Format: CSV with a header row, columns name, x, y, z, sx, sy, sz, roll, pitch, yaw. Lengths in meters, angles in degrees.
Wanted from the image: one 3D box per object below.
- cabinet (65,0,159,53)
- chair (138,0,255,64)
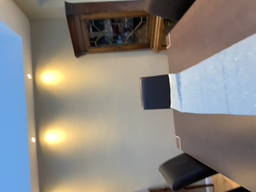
name,x,y,z,sx,sy,sz,roll,pitch,yaw
cabinet,-0.200,-0.880,2.630,0.530,1.020,0.530,150,117,-83
chair,0.600,-0.570,1.620,0.410,0.960,0.530,140,126,-83
